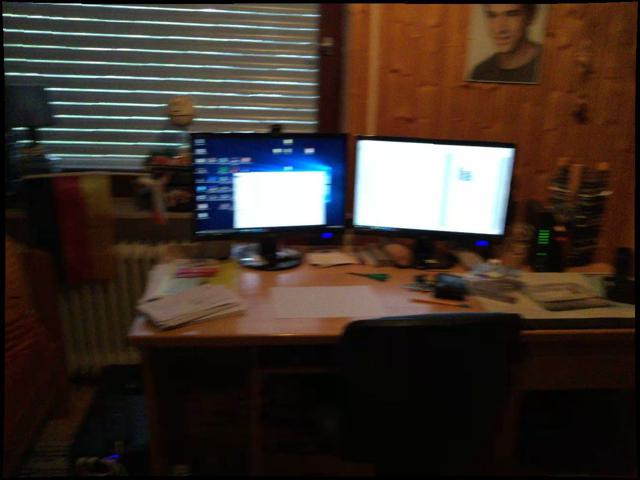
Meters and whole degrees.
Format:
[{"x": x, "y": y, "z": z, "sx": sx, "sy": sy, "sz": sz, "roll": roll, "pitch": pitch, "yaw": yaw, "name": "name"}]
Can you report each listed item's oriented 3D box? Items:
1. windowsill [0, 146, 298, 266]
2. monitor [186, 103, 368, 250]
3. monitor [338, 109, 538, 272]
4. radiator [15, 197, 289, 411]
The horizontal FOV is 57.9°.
[{"x": -0.709, "y": -0.150, "z": 2.310, "sx": 1.189, "sy": 0.200, "sz": 0.300, "roll": -12, "pitch": 21, "yaw": -9, "name": "windowsill"}, {"x": -0.140, "y": -0.190, "z": 1.840, "sx": 0.510, "sy": 0.400, "sz": 0.140, "roll": 3, "pitch": 18, "yaw": -23, "name": "monitor"}, {"x": 0.390, "y": -0.160, "z": 1.920, "sx": 0.589, "sy": 0.440, "sz": 0.220, "roll": -5, "pitch": 21, "yaw": 10, "name": "monitor"}, {"x": -0.659, "y": 0.260, "z": 2.450, "sx": 0.939, "sy": 0.681, "sz": 0.240, "roll": -12, "pitch": 20, "yaw": -9, "name": "radiator"}]
